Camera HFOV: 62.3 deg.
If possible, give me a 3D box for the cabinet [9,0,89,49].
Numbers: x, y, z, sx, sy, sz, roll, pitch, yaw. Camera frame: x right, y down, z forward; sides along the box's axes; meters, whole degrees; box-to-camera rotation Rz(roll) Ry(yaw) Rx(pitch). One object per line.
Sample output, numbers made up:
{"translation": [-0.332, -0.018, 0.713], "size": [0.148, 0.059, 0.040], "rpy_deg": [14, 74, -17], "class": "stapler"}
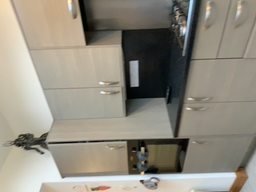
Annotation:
{"translation": [-0.590, -0.720, 1.610], "size": [0.300, 0.460, 0.640], "rpy_deg": [-91, 0, -50], "class": "cabinet"}
